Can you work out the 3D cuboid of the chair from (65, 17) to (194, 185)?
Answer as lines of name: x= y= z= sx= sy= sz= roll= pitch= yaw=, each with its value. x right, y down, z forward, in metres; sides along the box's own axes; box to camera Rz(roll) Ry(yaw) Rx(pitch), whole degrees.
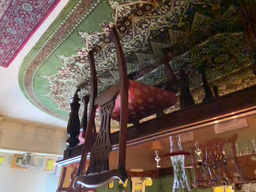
chair: x=-0.030 y=0.100 z=1.520 sx=0.570 sy=0.960 sz=0.590 roll=15 pitch=150 yaw=-33
